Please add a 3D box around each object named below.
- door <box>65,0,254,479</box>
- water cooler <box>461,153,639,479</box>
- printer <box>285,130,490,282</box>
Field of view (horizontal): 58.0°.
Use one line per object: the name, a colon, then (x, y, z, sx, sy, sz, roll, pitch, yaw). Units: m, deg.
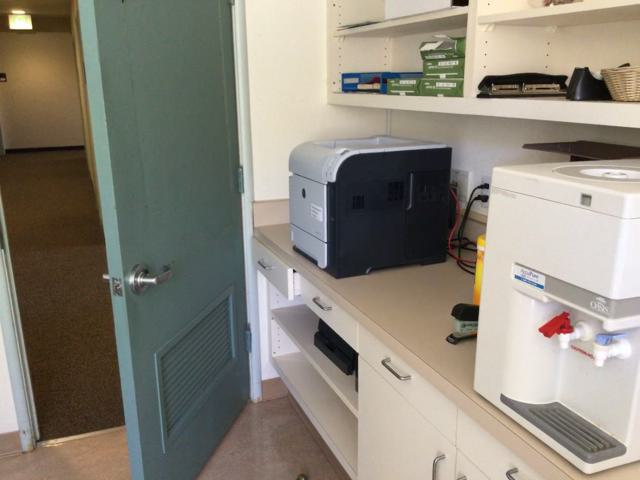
door: (-0.460, -0.110, 1.960, 0.160, 2.060, 0.830, 5, 17, 12)
water cooler: (0.560, 0.100, 1.030, 0.450, 0.450, 0.340, -6, 18, -21)
printer: (0.210, -0.150, 2.030, 0.550, 0.410, 0.440, -6, 18, -21)
